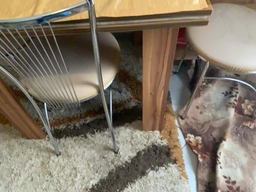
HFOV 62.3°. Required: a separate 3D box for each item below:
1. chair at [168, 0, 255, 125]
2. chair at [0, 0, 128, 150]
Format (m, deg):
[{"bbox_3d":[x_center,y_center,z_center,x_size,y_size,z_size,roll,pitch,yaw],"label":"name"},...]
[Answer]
[{"bbox_3d":[0.450,-0.260,0.920,0.410,0.810,0.420,-3,55,1],"label":"chair"},{"bbox_3d":[-0.240,-0.070,0.840,0.420,0.810,0.250,-5,55,0],"label":"chair"}]
